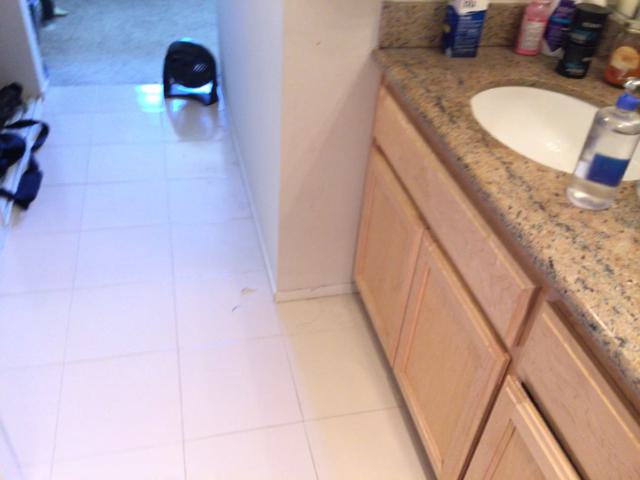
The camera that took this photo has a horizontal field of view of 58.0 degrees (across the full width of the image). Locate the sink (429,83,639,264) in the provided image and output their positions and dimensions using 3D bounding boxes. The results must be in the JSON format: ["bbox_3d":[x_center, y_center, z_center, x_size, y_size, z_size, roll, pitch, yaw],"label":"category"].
[{"bbox_3d":[0.470,-0.160,1.190,0.340,0.160,0.420,-4,39,-11],"label":"sink"}]
